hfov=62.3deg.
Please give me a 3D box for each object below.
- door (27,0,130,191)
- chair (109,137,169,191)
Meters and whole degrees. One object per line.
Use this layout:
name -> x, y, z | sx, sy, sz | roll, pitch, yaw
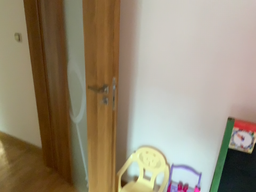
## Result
door -> -0.410, -0.060, 1.610 | 0.910, 2.030, 0.130 | 21, 28, 36
chair -> 0.080, 0.690, 1.710 | 0.350, 0.550, 0.310 | 13, 24, 23
